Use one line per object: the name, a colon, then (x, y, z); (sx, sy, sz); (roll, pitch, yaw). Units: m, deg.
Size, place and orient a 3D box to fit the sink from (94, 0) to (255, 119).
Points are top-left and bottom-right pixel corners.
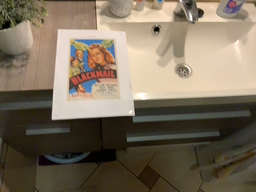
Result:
sink: (0.200, -0.160, 0.740); (0.610, 0.110, 0.430); (-3, 63, -8)
